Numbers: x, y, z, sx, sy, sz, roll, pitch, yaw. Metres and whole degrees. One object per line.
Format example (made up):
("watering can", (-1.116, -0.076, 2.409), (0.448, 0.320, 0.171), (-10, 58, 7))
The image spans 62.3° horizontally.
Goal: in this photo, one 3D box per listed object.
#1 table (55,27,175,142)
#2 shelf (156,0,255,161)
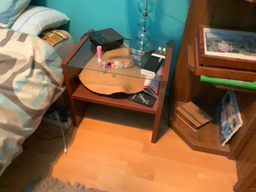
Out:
("table", (-0.040, -0.070, 1.120), (0.480, 0.400, 0.360), (10, 42, 8))
("shelf", (0.410, -0.720, 0.410), (0.340, 2.350, 0.380), (13, 43, 11))
